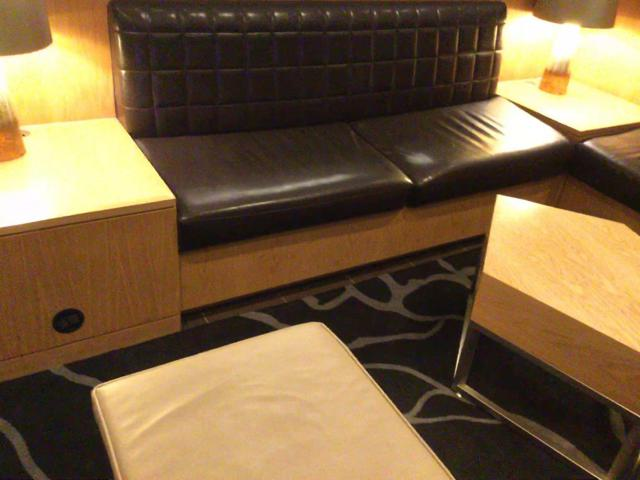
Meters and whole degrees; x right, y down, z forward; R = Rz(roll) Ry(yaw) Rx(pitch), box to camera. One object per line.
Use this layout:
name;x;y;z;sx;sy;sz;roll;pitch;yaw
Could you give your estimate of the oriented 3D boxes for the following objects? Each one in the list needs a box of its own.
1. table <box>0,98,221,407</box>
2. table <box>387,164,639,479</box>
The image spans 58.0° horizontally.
table;-0.820;-0.010;1.810;0.790;0.590;0.700;-14;35;-25
table;0.970;0.370;1.550;0.830;0.480;1.510;-14;35;-25
